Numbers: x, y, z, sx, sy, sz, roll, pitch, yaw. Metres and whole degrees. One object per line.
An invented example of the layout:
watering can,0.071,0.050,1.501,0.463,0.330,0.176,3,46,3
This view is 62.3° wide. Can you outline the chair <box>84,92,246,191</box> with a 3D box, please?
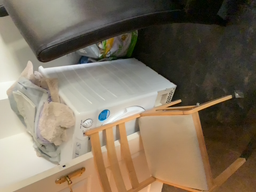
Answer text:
chair,0.240,0.300,1.270,0.500,0.770,0.440,-11,93,52
